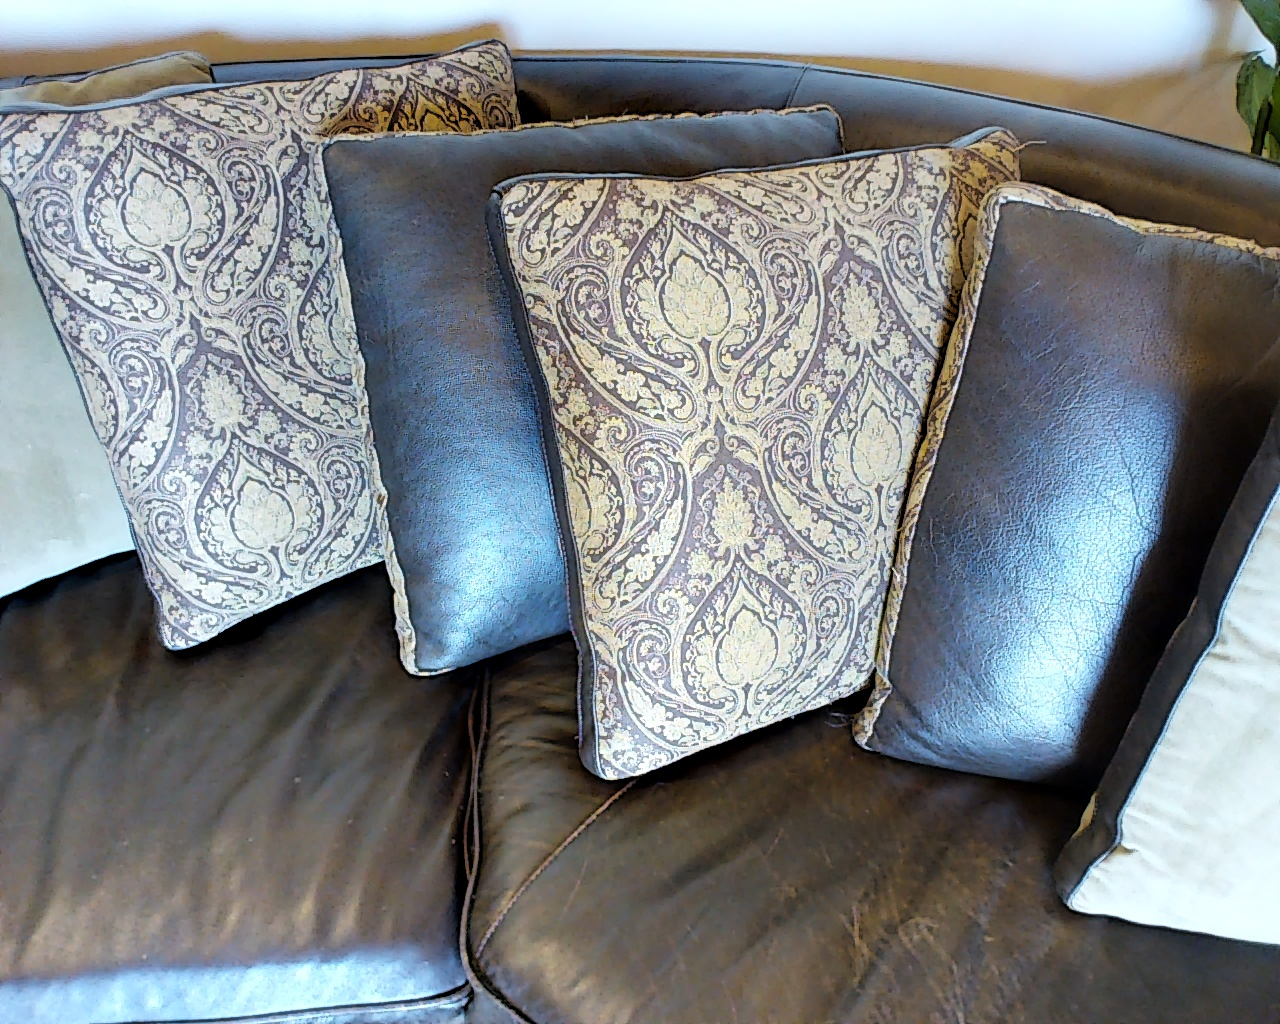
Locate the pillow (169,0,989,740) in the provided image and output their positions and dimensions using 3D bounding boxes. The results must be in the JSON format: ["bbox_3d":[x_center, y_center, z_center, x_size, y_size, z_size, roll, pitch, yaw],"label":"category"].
[{"bbox_3d":[-0.030,-0.230,1.330,0.780,0.600,0.320,-38,36,-11],"label":"pillow"}]

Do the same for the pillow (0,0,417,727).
[{"bbox_3d":[-0.740,-0.190,1.240,0.620,0.690,0.190,42,3,-34],"label":"pillow"}]

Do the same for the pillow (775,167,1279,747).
[{"bbox_3d":[0.460,0.000,1.060,0.340,0.210,0.640,1,-30,41],"label":"pillow"}]

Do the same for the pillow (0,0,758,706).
[{"bbox_3d":[-0.350,-0.260,1.300,0.540,0.680,0.460,45,2,-35],"label":"pillow"}]
